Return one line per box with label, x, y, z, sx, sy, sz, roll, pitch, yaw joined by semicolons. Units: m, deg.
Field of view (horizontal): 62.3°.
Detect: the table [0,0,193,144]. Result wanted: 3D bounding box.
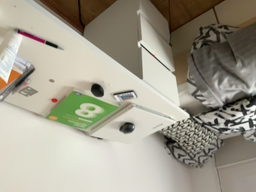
table;-0.180;-0.290;1.080;0.510;0.740;0.980;-23;142;32
